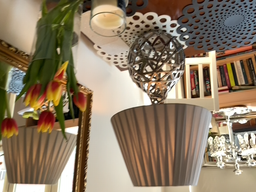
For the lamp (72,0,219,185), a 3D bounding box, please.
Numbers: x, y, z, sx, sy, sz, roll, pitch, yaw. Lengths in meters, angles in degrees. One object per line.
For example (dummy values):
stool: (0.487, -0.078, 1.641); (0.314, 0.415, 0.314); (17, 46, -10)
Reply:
lamp: (0.080, 0.020, 0.690); (0.330, 0.480, 0.330); (-8, 158, 22)
